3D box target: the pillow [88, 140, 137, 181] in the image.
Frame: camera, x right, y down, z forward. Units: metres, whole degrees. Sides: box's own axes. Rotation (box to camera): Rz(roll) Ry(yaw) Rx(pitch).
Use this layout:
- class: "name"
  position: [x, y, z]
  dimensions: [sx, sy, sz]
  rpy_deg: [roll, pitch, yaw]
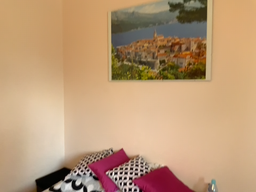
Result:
- class: "pillow"
  position: [-0.140, 0.580, 1.980]
  dimensions: [0.330, 0.220, 0.330]
  rpy_deg: [4, 5, 30]
